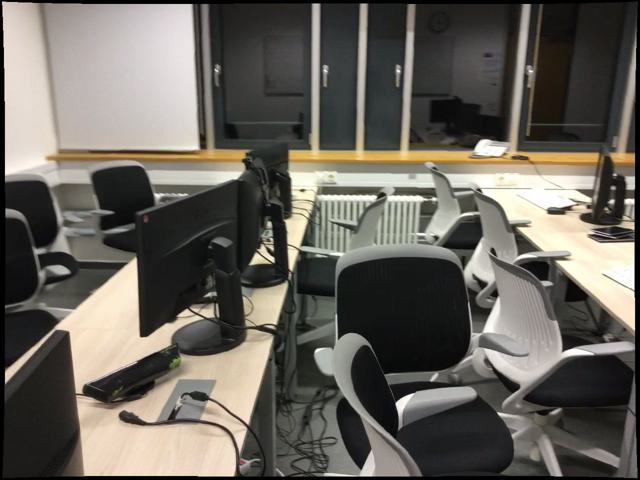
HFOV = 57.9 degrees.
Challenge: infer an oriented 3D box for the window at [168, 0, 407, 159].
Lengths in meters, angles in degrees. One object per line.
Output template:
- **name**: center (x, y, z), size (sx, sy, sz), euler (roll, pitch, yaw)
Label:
- **window**: center (-0.200, -1.171, 4.220), size (1.598, 1.031, 0.400), euler (-3, 16, 1)

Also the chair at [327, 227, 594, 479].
- **chair**: center (0.340, 0.521, 1.770), size (0.579, 0.931, 0.750), euler (-3, 16, 1)

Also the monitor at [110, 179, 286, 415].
- **monitor**: center (-0.290, 0.110, 1.610), size (0.220, 0.450, 0.610), euler (0, 16, 11)

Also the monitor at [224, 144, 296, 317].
- **monitor**: center (-0.200, -0.070, 2.160), size (0.170, 0.490, 0.640), euler (-3, 16, 0)

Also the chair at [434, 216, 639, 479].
- **chair**: center (0.929, 0.440, 2.110), size (0.889, 0.881, 0.680), euler (-3, 16, 0)

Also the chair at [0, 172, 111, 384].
- **chair**: center (-1.658, 0.170, 3.150), size (0.700, 0.921, 0.690), euler (-13, 19, -32)

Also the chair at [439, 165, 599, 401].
- **chair**: center (0.909, 0.180, 2.810), size (0.539, 0.981, 0.580), euler (-3, 16, 0)

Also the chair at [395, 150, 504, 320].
- **chair**: center (0.799, -0.060, 3.730), size (0.529, 0.931, 0.660), euler (-3, 16, 0)

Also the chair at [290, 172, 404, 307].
- **chair**: center (0.130, -0.030, 2.990), size (0.509, 0.520, 0.630), euler (-3, 16, 0)

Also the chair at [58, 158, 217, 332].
- **chair**: center (-1.199, -0.020, 3.820), size (0.660, 0.911, 0.730), euler (-16, 20, -38)
